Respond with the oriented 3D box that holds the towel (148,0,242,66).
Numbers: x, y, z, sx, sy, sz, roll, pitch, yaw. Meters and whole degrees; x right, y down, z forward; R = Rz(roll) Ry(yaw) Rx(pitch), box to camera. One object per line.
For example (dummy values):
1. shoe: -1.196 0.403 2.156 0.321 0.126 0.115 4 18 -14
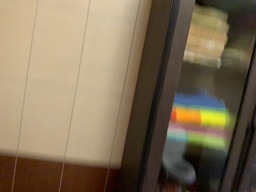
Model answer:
1. towel: 0.280 -0.280 0.980 0.280 0.230 0.280 10 7 -9
